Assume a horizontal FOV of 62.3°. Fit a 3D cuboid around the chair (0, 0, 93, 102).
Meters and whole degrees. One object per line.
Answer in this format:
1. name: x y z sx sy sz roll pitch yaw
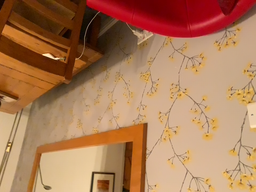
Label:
1. chair: -0.530 -0.500 1.300 0.430 0.910 0.480 21 153 -33
